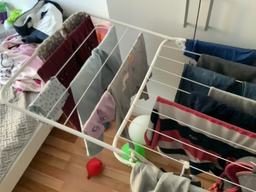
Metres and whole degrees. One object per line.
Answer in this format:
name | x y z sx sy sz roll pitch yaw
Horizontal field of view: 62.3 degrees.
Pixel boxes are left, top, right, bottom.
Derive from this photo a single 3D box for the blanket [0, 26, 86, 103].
blanket | -0.750 -0.260 1.560 0.730 0.200 0.410 16 55 18
